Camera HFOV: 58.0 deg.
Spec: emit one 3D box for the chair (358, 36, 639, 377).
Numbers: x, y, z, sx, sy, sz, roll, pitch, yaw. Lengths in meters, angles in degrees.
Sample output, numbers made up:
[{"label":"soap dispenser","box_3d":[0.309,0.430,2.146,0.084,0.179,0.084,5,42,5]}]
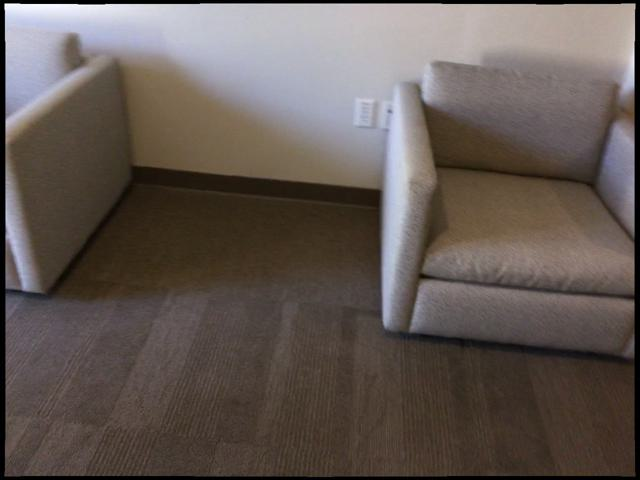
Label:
[{"label":"chair","box_3d":[0.639,-0.170,2.080,0.898,0.741,0.941,7,36,1]}]
